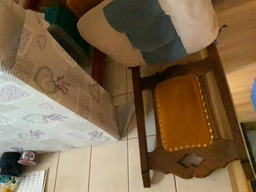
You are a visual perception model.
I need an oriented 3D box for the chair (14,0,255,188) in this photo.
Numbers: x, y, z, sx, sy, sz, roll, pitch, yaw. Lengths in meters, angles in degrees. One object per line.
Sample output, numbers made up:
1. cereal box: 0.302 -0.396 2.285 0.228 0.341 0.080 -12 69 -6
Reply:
1. chair: 0.090 -0.220 0.800 0.450 0.970 0.570 -13 149 21
